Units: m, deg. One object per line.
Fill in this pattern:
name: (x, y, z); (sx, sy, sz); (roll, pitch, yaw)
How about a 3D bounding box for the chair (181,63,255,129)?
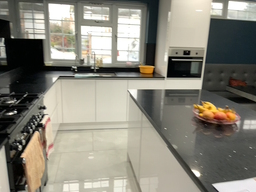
chair: (2.000, -0.030, 4.000); (1.780, 1.080, 0.560); (-1, 14, -11)
